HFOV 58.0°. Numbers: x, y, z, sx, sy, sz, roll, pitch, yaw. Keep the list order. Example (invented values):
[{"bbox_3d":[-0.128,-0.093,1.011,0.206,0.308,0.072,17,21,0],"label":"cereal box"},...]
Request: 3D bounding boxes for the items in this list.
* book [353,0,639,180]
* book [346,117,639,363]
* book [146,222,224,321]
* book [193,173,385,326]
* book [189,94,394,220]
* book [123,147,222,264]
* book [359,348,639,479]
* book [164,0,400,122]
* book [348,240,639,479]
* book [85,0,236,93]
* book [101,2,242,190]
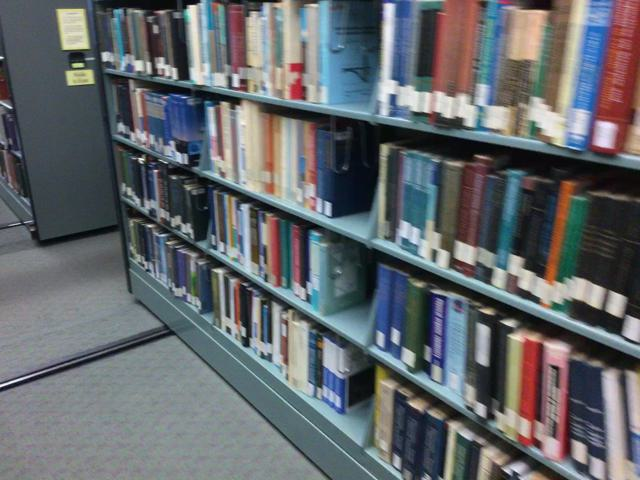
[{"bbox_3d":[0.460,-0.310,1.000,0.250,0.330,0.930,-14,22,-36],"label":"book"},{"bbox_3d":[0.520,-0.050,1.180,0.440,0.300,0.920,-14,22,-36],"label":"book"},{"bbox_3d":[-0.590,0.120,2.490,0.080,0.280,0.540,-14,22,-36],"label":"book"},{"bbox_3d":[-0.140,-0.010,1.950,0.200,0.290,0.810,-14,22,-36],"label":"book"},{"bbox_3d":[-0.130,-0.300,1.840,0.210,0.280,0.800,-14,22,-36],"label":"book"},{"bbox_3d":[-0.640,-0.170,2.450,0.100,0.360,0.690,-14,22,-36],"label":"book"},{"bbox_3d":[0.440,0.550,1.360,0.230,0.260,0.780,-14,22,-36],"label":"book"},{"bbox_3d":[-0.160,-0.580,1.780,0.260,0.340,0.860,-14,22,-36],"label":"book"},{"bbox_3d":[0.430,0.250,1.250,0.220,0.270,0.870,-14,22,-36],"label":"book"},{"bbox_3d":[-0.670,-0.800,2.330,0.230,0.360,0.860,-14,22,-36],"label":"book"},{"bbox_3d":[-0.620,-0.590,2.340,0.180,0.630,0.800,-14,22,-36],"label":"book"}]
